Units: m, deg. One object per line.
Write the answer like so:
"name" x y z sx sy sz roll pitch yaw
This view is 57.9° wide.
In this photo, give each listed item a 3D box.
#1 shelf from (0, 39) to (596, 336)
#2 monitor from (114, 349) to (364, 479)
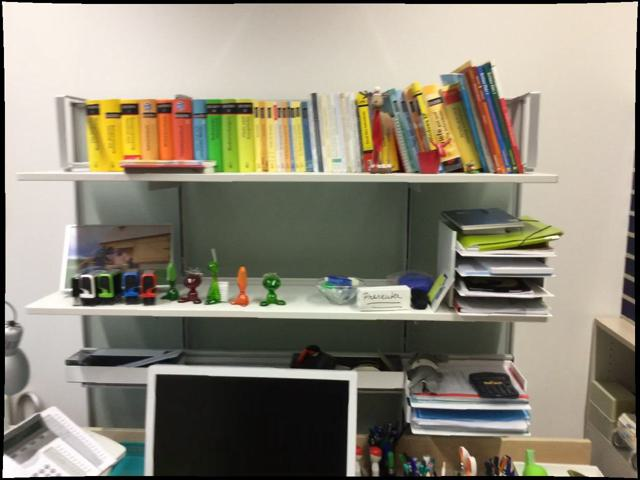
"shelf" -0.080 -0.150 1.600 1.419 0.681 0.430 1 9 5
"monitor" -0.200 0.541 1.570 0.629 0.420 0.200 1 9 5
